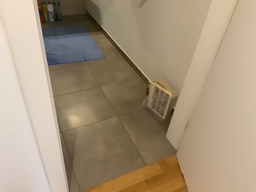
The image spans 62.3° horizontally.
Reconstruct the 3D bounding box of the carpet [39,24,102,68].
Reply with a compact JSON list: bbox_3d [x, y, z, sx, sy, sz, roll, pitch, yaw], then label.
[{"bbox_3d":[-0.780,-0.690,2.740,0.590,0.020,1.020,-12,44,-21],"label":"carpet"}]
